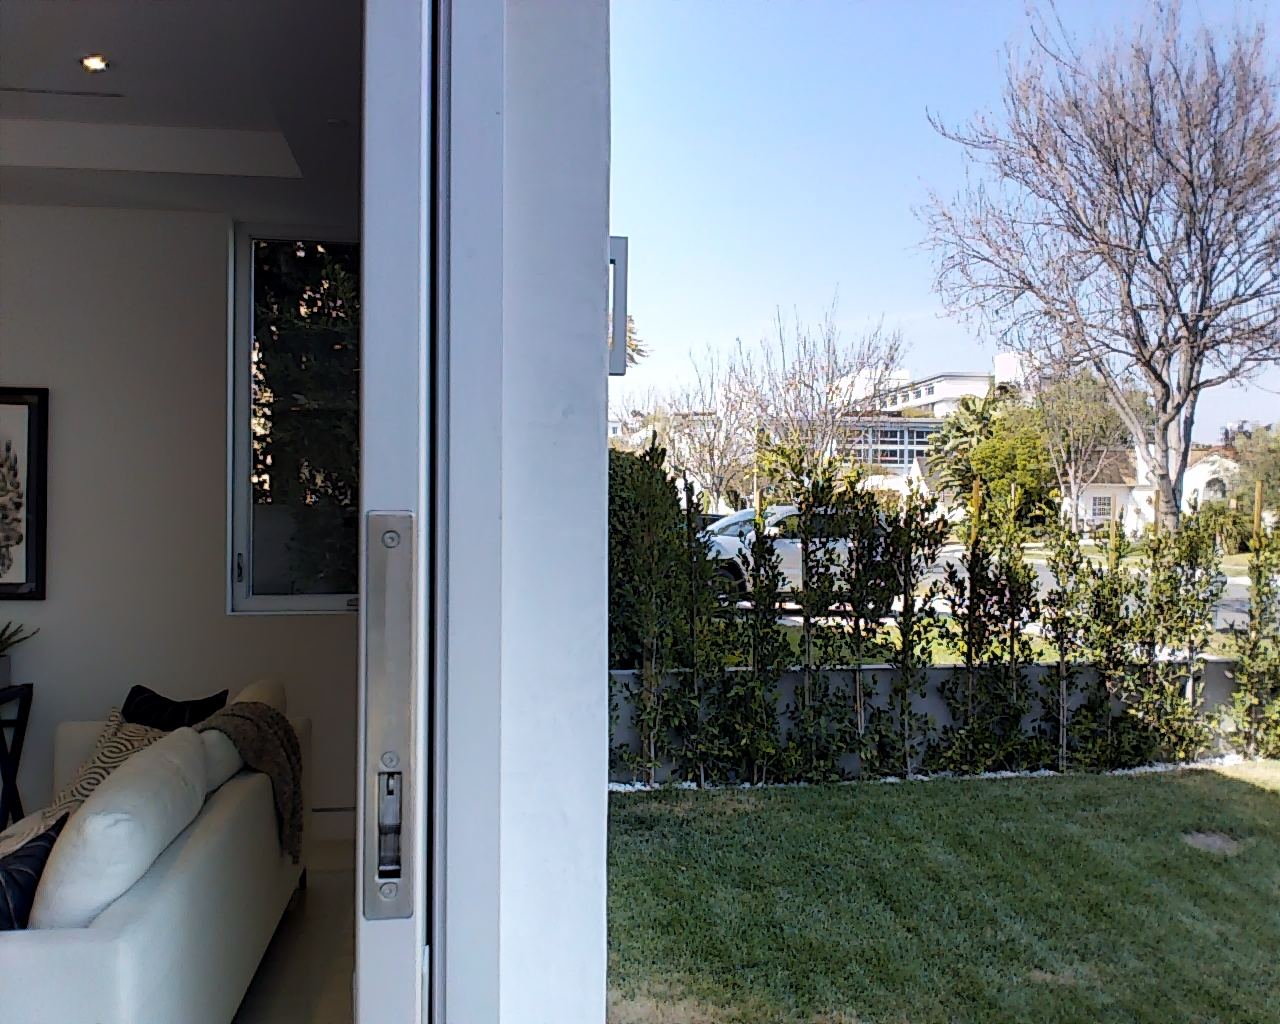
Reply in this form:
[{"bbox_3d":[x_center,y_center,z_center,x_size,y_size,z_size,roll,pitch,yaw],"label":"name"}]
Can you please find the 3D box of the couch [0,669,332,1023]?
[{"bbox_3d":[-1.609,1.070,3.130,1.060,0.870,2.320,0,0,-8],"label":"couch"}]
